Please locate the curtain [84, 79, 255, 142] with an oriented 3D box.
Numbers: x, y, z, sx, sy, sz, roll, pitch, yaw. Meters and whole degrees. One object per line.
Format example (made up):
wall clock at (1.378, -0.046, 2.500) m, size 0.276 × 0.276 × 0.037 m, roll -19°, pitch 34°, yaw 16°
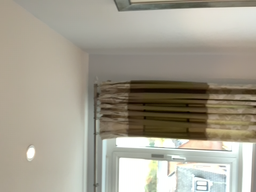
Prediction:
curtain at (0.770, 0.120, 1.810) m, size 0.170 × 2.310 × 0.470 m, roll -42°, pitch -47°, yaw -81°
